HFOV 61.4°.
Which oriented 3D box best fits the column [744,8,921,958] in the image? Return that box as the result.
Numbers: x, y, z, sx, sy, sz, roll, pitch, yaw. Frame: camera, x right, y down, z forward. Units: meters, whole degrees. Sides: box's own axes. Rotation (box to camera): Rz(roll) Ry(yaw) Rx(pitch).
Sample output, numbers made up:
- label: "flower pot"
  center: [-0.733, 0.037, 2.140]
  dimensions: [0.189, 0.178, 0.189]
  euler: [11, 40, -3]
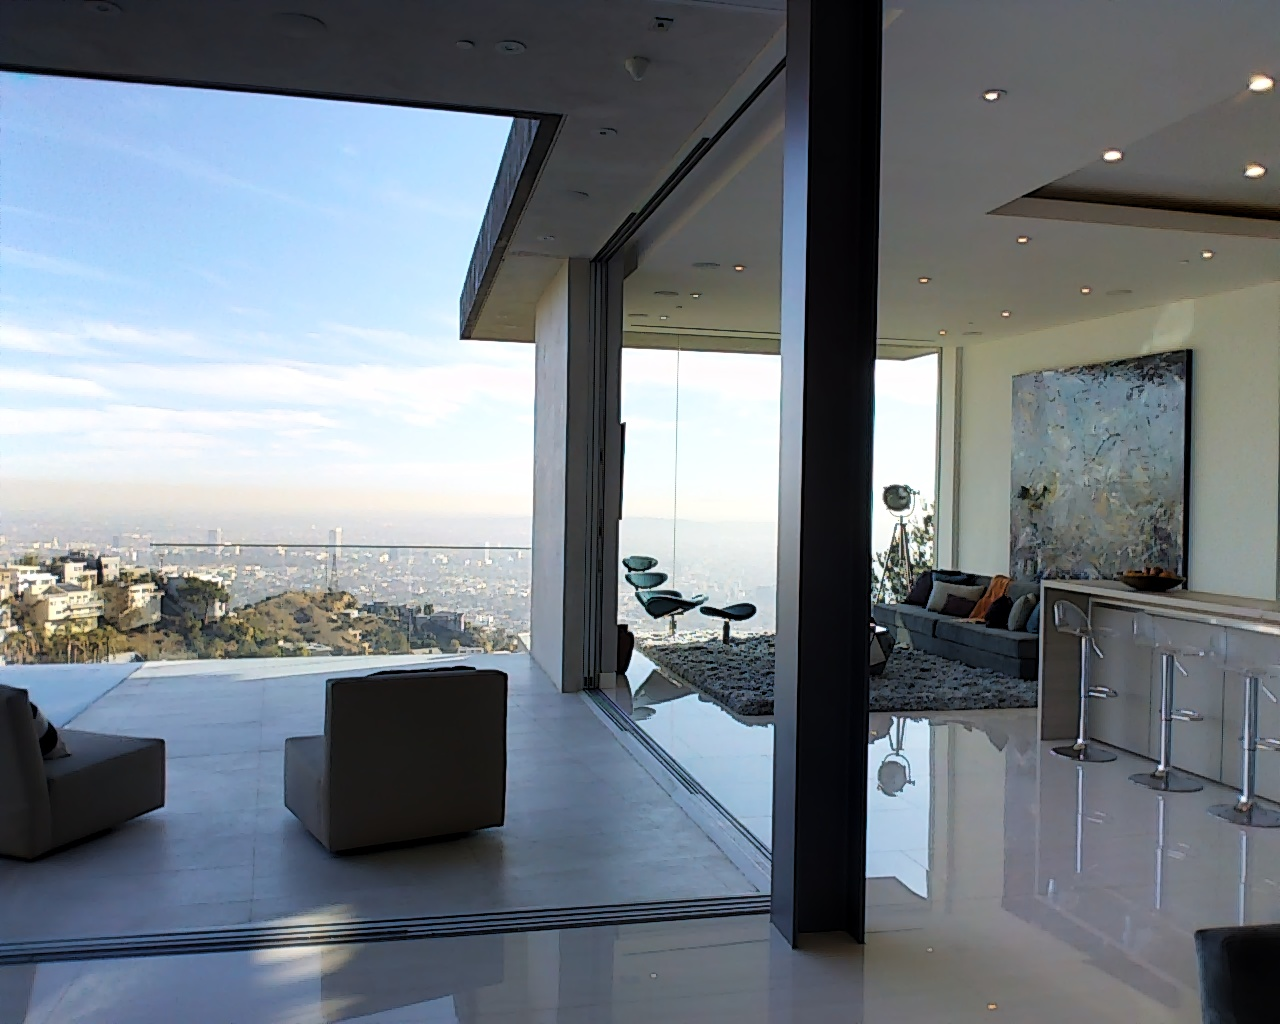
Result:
- label: "column"
  center: [0.680, -0.090, 3.890]
  dimensions: [0.430, 3.200, 0.440]
  euler: [1, 1, -13]
